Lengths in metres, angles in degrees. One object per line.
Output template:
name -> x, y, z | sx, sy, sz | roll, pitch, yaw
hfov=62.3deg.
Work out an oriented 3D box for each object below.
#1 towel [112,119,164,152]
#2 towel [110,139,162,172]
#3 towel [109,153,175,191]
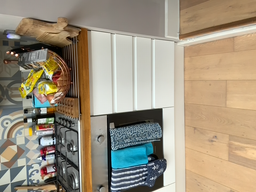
towel -> 0.080, 0.250, 1.390 | 0.050, 0.390, 0.150 | 5, 97, 55
towel -> 0.060, 0.370, 1.360 | 0.100, 0.340, 0.120 | 3, 95, 55
towel -> 0.110, 0.530, 1.410 | 0.090, 0.480, 0.180 | 2, 95, 55
